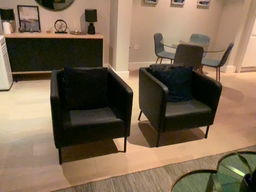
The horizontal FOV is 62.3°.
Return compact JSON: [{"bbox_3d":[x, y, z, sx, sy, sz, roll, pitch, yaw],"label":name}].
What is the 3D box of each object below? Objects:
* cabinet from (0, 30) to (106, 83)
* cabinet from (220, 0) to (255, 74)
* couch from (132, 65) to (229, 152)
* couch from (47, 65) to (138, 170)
[{"bbox_3d":[-1.360,-0.730,3.840,1.820,0.790,0.440,-5,27,-20],"label":"cabinet"},{"bbox_3d":[2.890,-1.640,4.930,0.620,2.140,0.620,-4,27,-19],"label":"cabinet"},{"bbox_3d":[0.550,0.090,2.560,0.760,0.720,0.740,-4,27,-18],"label":"couch"},{"bbox_3d":[-0.400,0.160,2.190,0.740,0.760,0.690,-4,27,-18],"label":"couch"}]
